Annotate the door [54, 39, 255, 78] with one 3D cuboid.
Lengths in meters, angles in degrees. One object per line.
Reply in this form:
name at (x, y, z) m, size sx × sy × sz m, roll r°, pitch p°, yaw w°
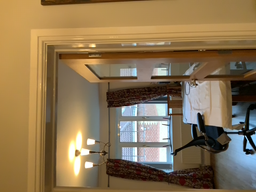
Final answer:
door at (0.560, -0.250, 1.600) m, size 0.770 × 1.970 × 0.090 m, roll 48°, pitch -139°, yaw -85°
